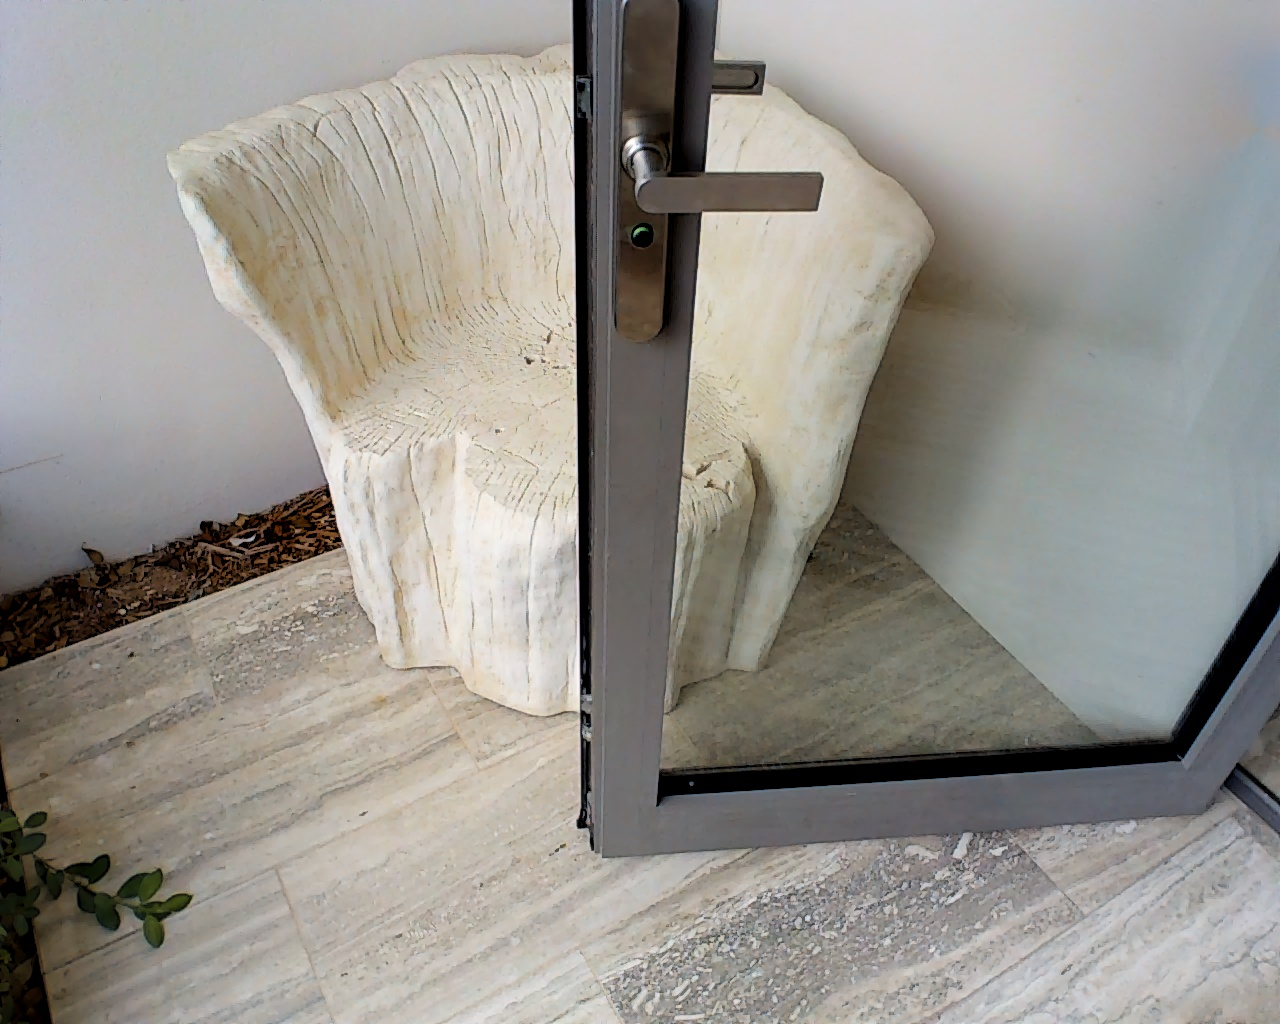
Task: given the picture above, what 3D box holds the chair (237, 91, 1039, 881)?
[{"bbox_3d":[0.000,-0.040,1.490,0.820,0.800,0.400,-21,48,-23],"label":"chair"}]
